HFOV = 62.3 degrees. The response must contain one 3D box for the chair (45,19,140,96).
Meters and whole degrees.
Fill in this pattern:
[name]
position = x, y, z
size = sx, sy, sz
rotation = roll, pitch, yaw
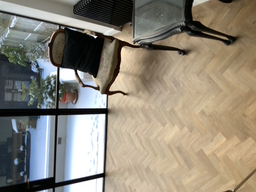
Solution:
[chair]
position = -0.440, -0.430, 2.510
size = 0.680, 0.790, 0.560
rotation = 49, 125, 42
